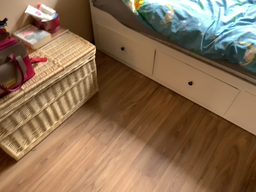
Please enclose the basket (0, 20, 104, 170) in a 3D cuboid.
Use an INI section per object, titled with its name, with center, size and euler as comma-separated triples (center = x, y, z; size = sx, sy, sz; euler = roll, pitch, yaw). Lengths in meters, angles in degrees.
[basket]
center = -0.610, -0.040, 1.470
size = 0.390, 0.540, 0.850
euler = 32, 55, 23
